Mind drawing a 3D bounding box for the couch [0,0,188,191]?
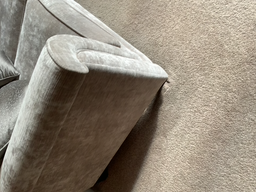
[{"bbox_3d":[-0.780,-0.240,1.370,1.760,0.930,1.070,44,116,30],"label":"couch"}]
